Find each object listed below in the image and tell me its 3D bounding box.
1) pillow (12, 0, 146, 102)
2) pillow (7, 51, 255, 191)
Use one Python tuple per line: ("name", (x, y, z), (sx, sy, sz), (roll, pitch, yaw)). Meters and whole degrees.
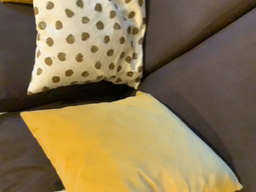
("pillow", (-0.110, -0.250, 0.710), (0.130, 0.370, 0.460), (11, 82, 28))
("pillow", (0.020, 0.130, 0.580), (0.520, 0.440, 0.180), (44, 113, 29))
